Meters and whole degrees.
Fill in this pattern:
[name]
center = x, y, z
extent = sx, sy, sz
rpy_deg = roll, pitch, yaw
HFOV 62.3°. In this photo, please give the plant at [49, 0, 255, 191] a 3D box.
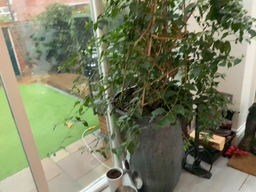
[plant]
center = 0.430, -0.340, 1.100
extent = 1.070, 2.140, 1.300
rpy_deg = -24, 29, -39
